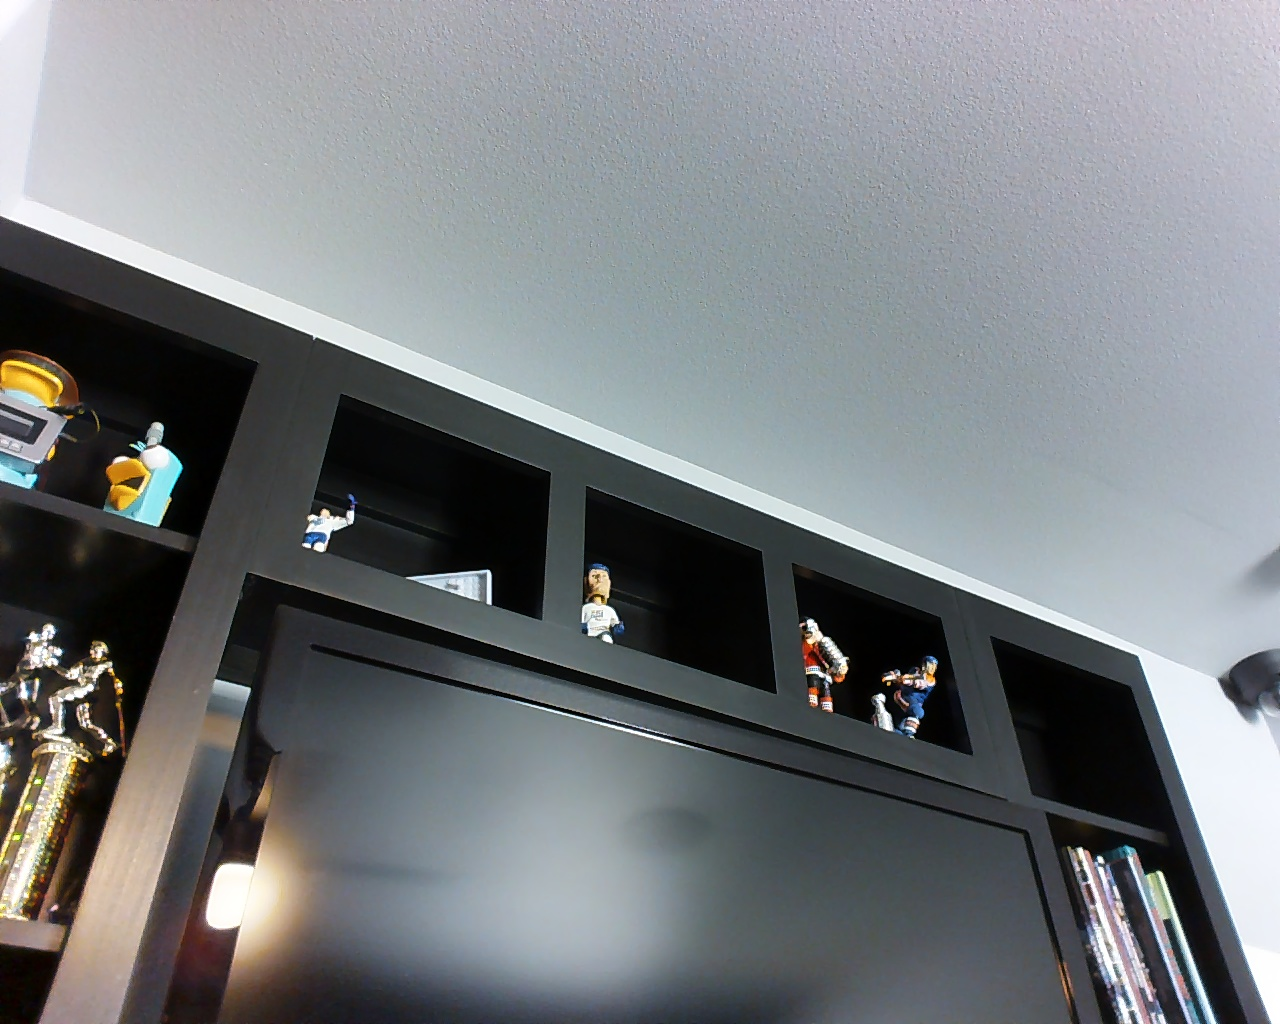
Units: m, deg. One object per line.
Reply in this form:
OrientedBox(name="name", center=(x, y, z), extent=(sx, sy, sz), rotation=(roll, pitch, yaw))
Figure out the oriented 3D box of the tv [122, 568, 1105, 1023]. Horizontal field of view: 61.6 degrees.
OrientedBox(name="tv", center=(0.070, 0.450, 1.010), extent=(1.000, 0.620, 0.040), rotation=(19, -45, -21))
